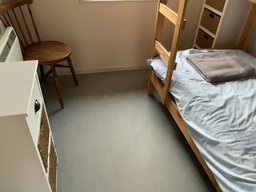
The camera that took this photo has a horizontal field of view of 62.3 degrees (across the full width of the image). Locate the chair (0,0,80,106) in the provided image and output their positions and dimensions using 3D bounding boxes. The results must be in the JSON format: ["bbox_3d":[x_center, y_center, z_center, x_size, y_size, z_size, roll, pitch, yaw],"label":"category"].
[{"bbox_3d":[-0.790,-0.420,1.890,0.510,0.820,0.510,8,38,4],"label":"chair"}]
